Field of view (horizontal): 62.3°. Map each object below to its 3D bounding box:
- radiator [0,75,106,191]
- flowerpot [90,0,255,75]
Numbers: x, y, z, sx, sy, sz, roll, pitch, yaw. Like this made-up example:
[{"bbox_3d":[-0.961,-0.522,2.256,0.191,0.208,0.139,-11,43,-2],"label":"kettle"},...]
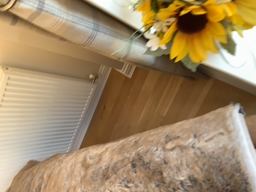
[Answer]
[{"bbox_3d":[-0.650,0.360,1.540,0.120,0.810,0.970,32,105,32],"label":"radiator"},{"bbox_3d":[0.210,-0.270,0.550,0.280,0.480,0.300,26,101,33],"label":"flowerpot"}]
